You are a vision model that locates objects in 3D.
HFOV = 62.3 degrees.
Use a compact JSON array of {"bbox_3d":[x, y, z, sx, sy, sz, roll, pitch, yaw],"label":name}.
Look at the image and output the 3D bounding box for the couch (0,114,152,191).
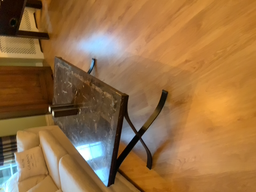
[{"bbox_3d":[-0.850,1.130,2.490,2.130,0.900,1.100,23,111,48],"label":"couch"}]
